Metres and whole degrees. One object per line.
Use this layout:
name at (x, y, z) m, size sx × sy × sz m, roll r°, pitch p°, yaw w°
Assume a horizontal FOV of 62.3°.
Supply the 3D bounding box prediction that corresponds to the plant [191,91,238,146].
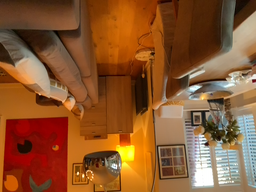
plant at (1.000, 0.260, 2.490) m, size 0.410 × 0.600 × 0.170 m, roll -2°, pitch 169°, yaw -3°
